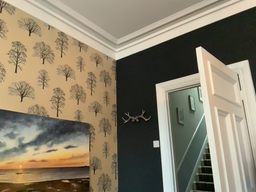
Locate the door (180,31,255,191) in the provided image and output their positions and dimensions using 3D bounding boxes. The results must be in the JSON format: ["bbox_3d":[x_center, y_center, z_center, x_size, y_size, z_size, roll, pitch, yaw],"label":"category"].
[{"bbox_3d":[0.950,0.650,1.830,0.240,2.170,1.100,-17,-22,42],"label":"door"}]
